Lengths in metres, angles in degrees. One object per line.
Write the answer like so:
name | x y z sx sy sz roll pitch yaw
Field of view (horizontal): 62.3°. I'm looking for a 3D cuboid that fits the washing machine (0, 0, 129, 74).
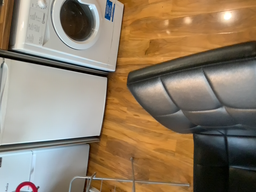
washing machine | -0.600 -0.570 1.710 0.710 0.930 0.610 8 91 40
